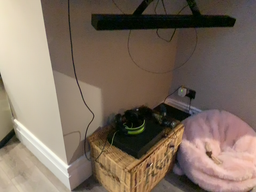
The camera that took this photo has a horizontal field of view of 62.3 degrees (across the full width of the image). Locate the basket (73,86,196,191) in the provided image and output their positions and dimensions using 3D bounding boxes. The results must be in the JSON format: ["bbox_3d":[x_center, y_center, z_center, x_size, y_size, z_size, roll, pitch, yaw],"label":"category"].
[{"bbox_3d":[0.070,0.330,1.540,0.470,0.460,0.740,25,37,33],"label":"basket"}]
